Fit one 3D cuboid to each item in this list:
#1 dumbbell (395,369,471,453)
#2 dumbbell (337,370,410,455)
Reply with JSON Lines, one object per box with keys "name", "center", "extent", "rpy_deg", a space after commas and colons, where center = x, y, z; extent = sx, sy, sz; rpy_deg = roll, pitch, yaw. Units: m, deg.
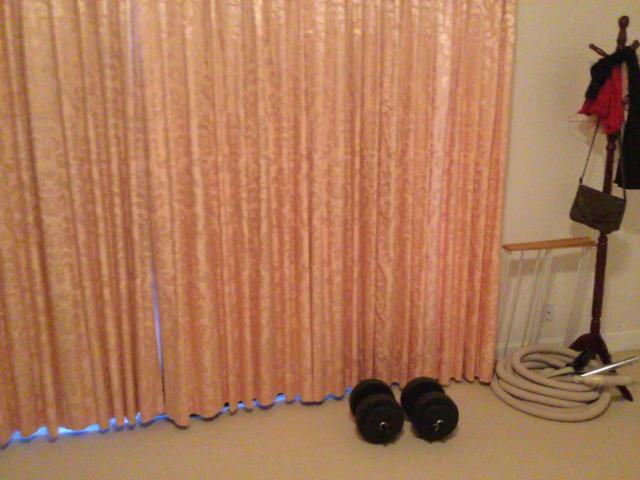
{"name": "dumbbell", "center": [0.490, 0.740, 2.530], "extent": [0.230, 0.230, 0.270], "rpy_deg": [-6, 9, -13]}
{"name": "dumbbell", "center": [0.230, 0.750, 2.550], "extent": [0.220, 0.220, 0.310], "rpy_deg": [-6, 9, -13]}
